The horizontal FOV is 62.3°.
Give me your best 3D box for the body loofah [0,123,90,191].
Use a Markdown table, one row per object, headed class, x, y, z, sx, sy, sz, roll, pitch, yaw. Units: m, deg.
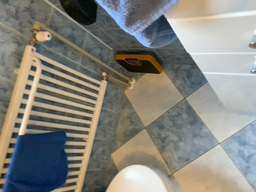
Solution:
| class | x | y | z | sx | sy | sz | roll | pitch | yaw |
| --- | --- | --- | --- | --- | --- | --- | --- | --- | --- |
| body loofah | -0.390 | 0.380 | 0.950 | 0.110 | 0.370 | 0.460 | 10 | 82 | 31 |
